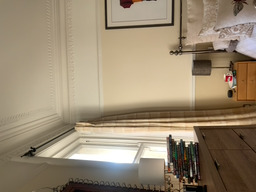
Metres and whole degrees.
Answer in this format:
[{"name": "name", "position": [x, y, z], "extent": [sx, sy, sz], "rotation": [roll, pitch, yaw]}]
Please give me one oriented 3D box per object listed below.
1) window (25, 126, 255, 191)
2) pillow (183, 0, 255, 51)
[{"name": "window", "position": [0.130, 0.720, 2.470], "extent": [1.200, 2.070, 0.360], "rotation": [-32, -59, -76]}, {"name": "pillow", "position": [0.890, -0.880, 2.220], "extent": [1.160, 0.560, 0.670], "rotation": [-28, -62, -76]}]
